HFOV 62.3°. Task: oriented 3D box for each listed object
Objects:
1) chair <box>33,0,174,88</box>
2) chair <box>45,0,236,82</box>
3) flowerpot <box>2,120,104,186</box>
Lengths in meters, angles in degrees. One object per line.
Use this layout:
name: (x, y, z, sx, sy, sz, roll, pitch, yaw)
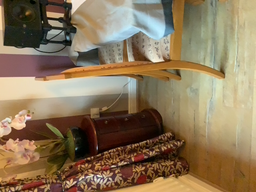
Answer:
chair: (-0.180, -0.380, 1.670, 0.480, 0.960, 0.550, 15, 107, 58)
chair: (0.080, -0.380, 1.210, 0.460, 0.960, 0.510, 22, 113, 57)
flowerpot: (-0.590, 0.410, 1.700, 0.330, 0.710, 0.290, 12, 104, 59)
